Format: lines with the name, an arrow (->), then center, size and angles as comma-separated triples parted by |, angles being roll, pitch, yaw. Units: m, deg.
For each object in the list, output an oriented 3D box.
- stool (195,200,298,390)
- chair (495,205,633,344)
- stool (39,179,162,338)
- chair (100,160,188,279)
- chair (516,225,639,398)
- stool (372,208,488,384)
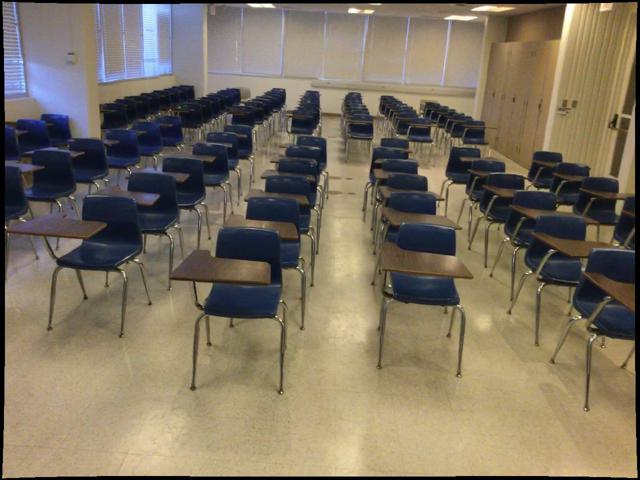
stool -> -0.399, 0.271, 3.370 | 0.489, 0.762, 0.940 | 3, 19, -2
chair -> 1.616, 0.211, 3.940 | 0.519, 0.702, 0.720 | 4, 19, -2
stool -> -1.347, 0.090, 3.650 | 0.479, 0.802, 0.630 | 5, 19, 2
chair -> -1.287, -0.170, 4.310 | 0.469, 0.722, 0.600 | 4, 19, -2
chair -> 1.606, 0.381, 3.390 | 0.509, 0.692, 0.850 | 4, 19, -2
stool -> 0.638, 0.311, 3.610 | 0.509, 0.812, 0.790 | 4, 19, 0
